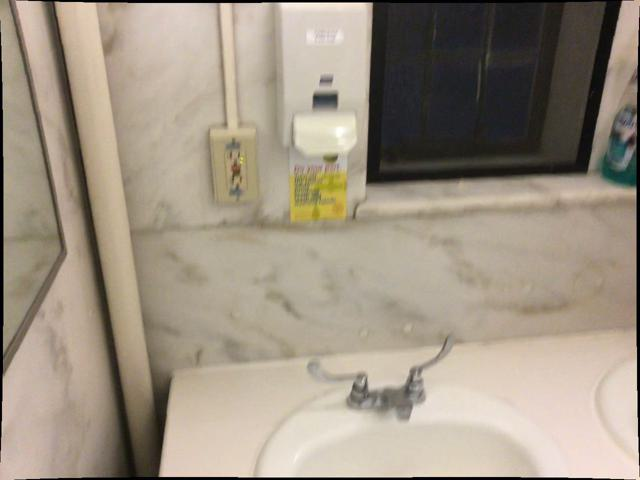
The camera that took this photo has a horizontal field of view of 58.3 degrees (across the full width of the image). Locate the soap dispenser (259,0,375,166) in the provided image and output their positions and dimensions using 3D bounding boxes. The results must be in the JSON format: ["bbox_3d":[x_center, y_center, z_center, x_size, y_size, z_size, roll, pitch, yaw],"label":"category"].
[{"bbox_3d":[-0.010,-0.260,0.910,0.150,0.250,0.130,-5,25,-12],"label":"soap dispenser"}]
